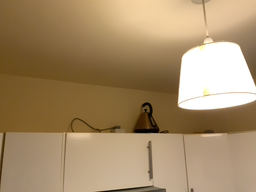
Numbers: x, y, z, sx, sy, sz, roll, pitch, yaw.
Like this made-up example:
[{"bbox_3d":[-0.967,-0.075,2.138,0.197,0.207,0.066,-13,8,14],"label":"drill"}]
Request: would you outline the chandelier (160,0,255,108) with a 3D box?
[{"bbox_3d":[0.270,-0.180,0.740,0.280,0.390,0.270,-3,166,6],"label":"chandelier"}]
